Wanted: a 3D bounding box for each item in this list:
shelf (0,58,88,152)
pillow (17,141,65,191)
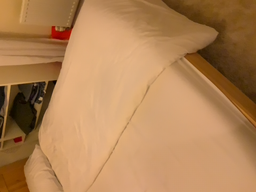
[{"bbox_3d":[-1.440,0.200,1.830,0.300,2.080,1.010,51,130,23],"label":"shelf"},{"bbox_3d":[-0.820,0.800,1.980,0.630,0.150,0.370,49,128,25],"label":"pillow"}]
